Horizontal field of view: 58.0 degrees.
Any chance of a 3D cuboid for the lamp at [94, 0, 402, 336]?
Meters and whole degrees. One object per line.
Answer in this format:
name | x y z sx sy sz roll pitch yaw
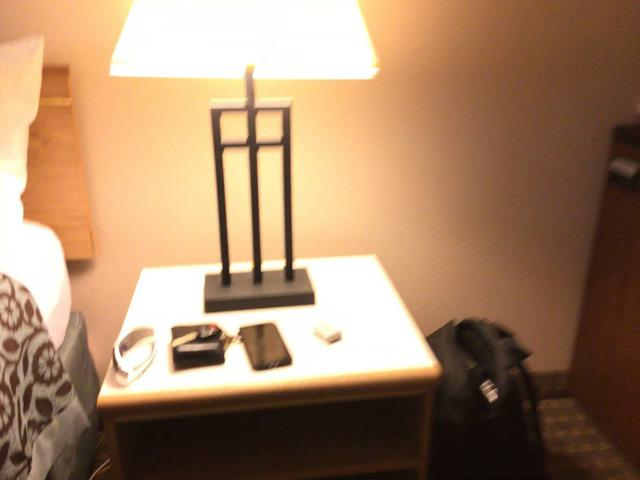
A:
lamp | -0.130 -0.200 1.070 0.460 0.690 0.280 1 19 -8
